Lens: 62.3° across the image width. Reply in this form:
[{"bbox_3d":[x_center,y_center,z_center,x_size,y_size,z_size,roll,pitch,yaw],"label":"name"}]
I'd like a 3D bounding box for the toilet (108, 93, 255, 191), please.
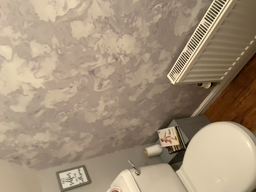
[{"bbox_3d":[0.420,0.410,1.170,0.440,0.790,0.690,59,139,34],"label":"toilet"}]
